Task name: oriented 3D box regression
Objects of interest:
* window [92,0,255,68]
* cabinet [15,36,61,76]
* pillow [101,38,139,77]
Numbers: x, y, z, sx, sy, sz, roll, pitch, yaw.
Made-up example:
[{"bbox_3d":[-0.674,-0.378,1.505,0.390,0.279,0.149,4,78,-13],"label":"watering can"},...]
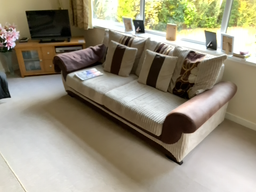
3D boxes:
[{"bbox_3d":[0.570,-1.370,2.730,0.040,1.400,3.520,-25,39,-38],"label":"window"},{"bbox_3d":[-1.540,-0.710,3.710,0.600,0.540,0.450,-5,30,-11],"label":"cabinet"},{"bbox_3d":[-0.100,-0.490,2.680,0.390,0.380,0.170,27,60,37],"label":"pillow"}]
